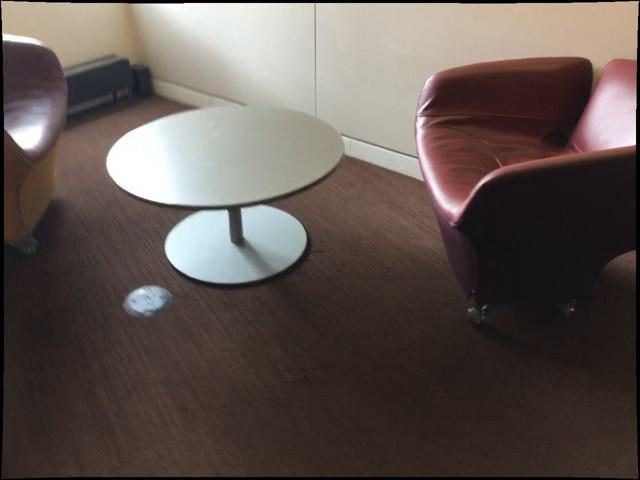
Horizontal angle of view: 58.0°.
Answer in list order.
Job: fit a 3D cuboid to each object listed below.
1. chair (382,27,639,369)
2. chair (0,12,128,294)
[{"bbox_3d":[0.708,-0.200,2.010,0.898,0.771,0.991,-2,34,2],"label":"chair"},{"bbox_3d":[-1.457,-0.401,2.430,0.888,0.781,1.071,-4,34,-2],"label":"chair"}]
